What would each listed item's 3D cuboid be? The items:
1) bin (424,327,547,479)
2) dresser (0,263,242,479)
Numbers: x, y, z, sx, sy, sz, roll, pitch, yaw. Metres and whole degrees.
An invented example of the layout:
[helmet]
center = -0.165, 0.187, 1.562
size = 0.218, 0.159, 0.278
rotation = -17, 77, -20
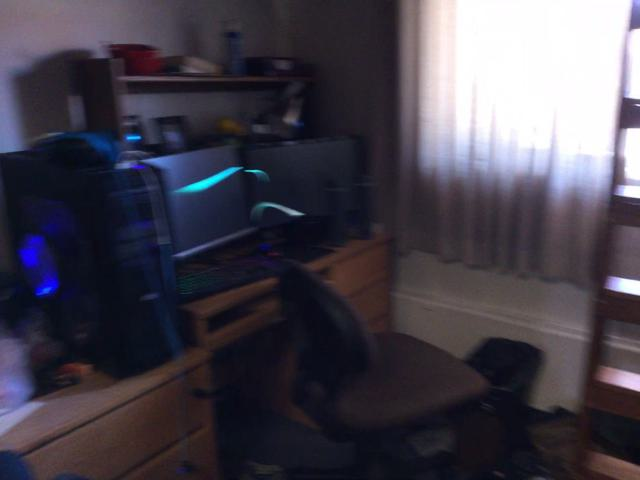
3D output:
[bin]
center = 0.620, 0.600, 2.140
size = 0.280, 0.370, 0.450
rotation = 10, 17, 34
[dresser]
center = -0.740, 0.590, 1.580
size = 0.700, 0.790, 0.770
rotation = 10, 17, 34
